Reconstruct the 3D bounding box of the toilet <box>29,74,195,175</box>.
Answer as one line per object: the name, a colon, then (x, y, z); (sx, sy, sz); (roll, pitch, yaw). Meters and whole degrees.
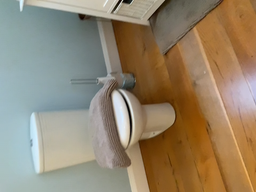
toilet: (-0.140, 0.180, 1.330); (0.640, 0.790, 0.370); (-39, 60, 52)
